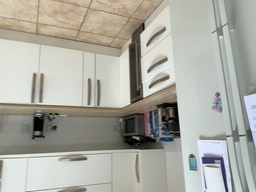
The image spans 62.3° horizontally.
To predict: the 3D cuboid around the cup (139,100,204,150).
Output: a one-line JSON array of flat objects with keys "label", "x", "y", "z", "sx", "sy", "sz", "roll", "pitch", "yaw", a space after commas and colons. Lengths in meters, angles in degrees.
[{"label": "cup", "x": 0.450, "y": 0.360, "z": 2.450, "sx": 0.320, "sy": 0.480, "sz": 0.760, "roll": 4, "pitch": 166, "yaw": -24}]
